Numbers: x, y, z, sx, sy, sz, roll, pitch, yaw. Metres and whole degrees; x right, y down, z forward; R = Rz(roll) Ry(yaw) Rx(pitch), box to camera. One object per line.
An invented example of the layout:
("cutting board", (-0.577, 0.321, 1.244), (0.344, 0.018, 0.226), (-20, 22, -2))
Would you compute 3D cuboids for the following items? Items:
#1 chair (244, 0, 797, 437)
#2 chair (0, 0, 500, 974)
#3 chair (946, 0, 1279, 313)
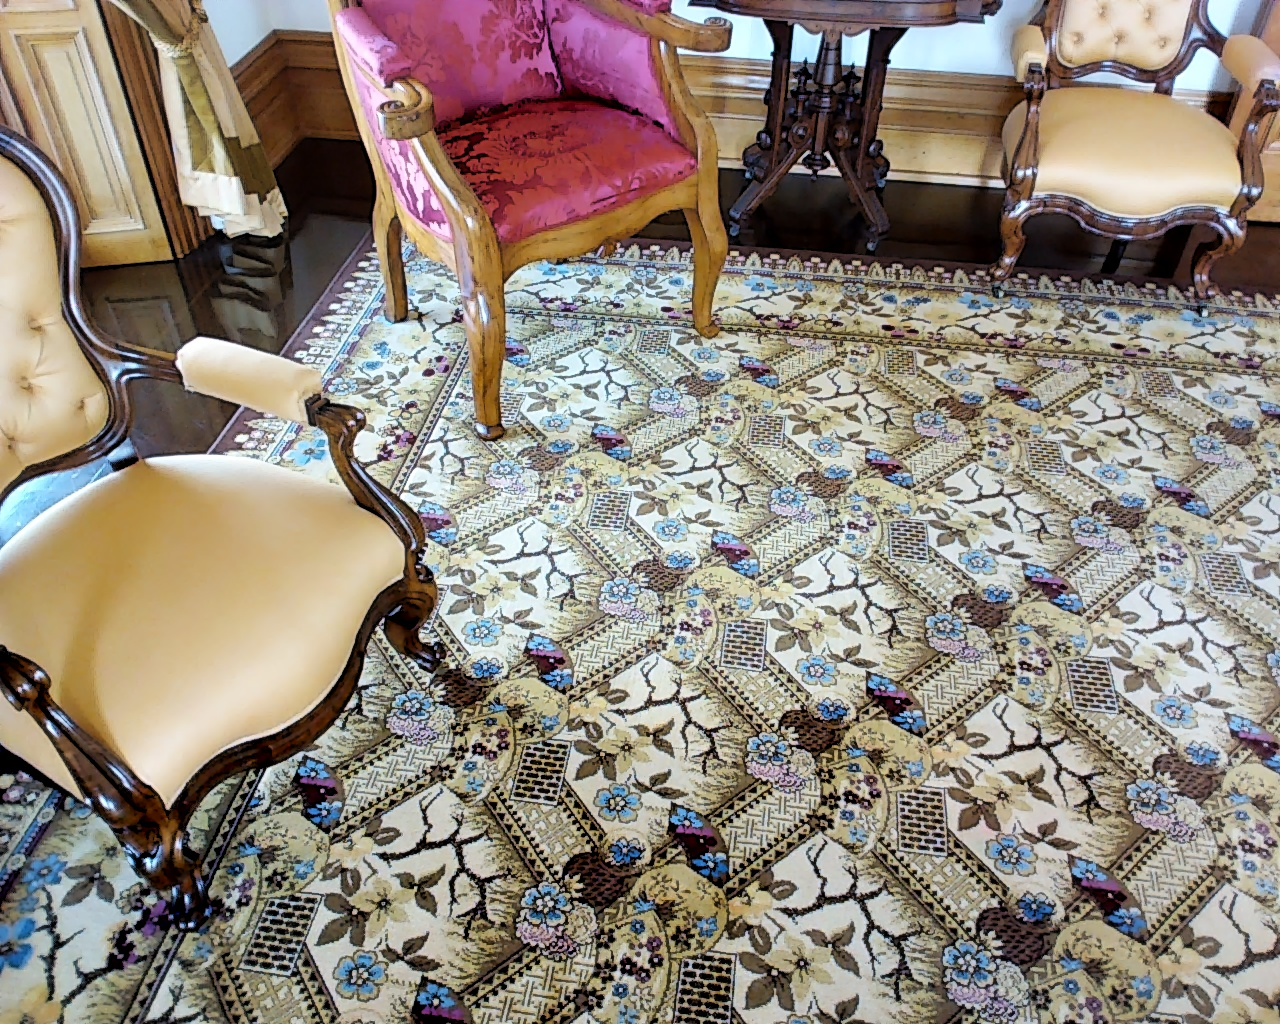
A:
("chair", (-0.320, -1.230, 2.440), (0.860, 1.620, 1.060), (-25, 48, -26))
("chair", (-0.820, -0.080, 1.610), (0.870, 1.020, 0.740), (23, 46, 23))
("chair", (1.360, -1.280, 2.940), (0.770, 1.100, 0.850), (7, 42, 6))
